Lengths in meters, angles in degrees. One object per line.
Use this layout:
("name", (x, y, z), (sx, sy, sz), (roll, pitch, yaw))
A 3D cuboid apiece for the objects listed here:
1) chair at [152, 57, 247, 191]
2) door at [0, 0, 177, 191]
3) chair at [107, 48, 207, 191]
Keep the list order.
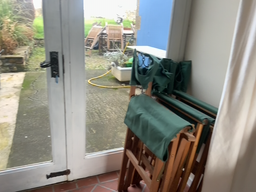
("chair", (0.390, 0.230, 1.400), (0.120, 0.870, 0.550), (-4, 21, -22))
("door", (-0.360, -0.290, 1.240), (1.430, 1.920, 0.040), (-4, 21, -23))
("chair", (0.080, 0.230, 1.270), (0.190, 0.920, 0.650), (-4, 21, -22))
